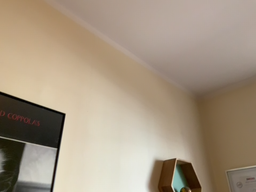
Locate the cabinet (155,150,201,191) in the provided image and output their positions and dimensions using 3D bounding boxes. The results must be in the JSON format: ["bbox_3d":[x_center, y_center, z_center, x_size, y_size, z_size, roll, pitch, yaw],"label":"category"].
[{"bbox_3d":[0.290,0.490,1.180,0.080,0.310,0.310,-26,-38,37],"label":"cabinet"}]
